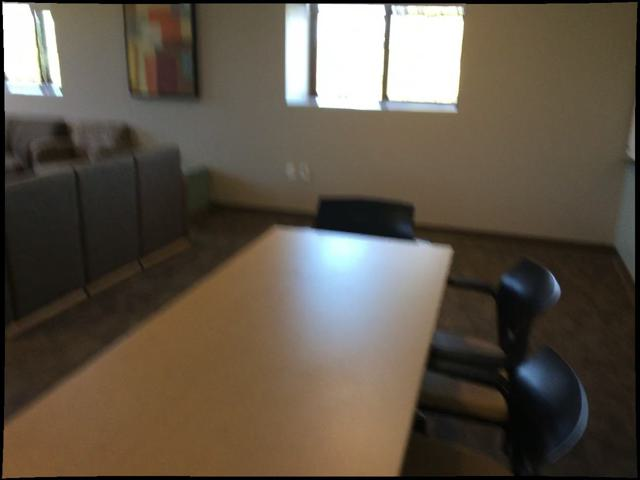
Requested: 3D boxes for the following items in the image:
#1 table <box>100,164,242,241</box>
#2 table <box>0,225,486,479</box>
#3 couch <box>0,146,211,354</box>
[{"bbox_3d":[-1.366,-0.381,5.420,0.918,0.481,0.870,5,18,20],"label":"table"},{"bbox_3d":[-0.100,0.592,1.710,0.928,0.742,1.880,5,18,20],"label":"table"},{"bbox_3d":[-1.606,-0.090,3.910,0.778,0.812,1.910,5,18,20],"label":"couch"}]
